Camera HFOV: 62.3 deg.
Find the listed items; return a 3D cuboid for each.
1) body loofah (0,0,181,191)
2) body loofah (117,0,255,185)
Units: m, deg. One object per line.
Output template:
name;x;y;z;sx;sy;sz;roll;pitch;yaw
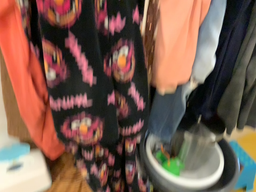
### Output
body loofah;-0.120;-0.100;0.600;0.400;1.050;0.230;-14;41;-25
body loofah;0.340;-0.250;0.740;0.600;1.020;0.380;-14;41;-25
